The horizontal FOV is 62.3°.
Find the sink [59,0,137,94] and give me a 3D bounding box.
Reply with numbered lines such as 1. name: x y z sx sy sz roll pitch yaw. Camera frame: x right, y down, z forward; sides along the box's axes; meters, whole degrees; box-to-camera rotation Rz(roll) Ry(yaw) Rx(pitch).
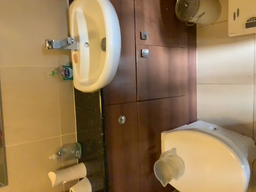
1. sink: -0.170 -0.270 1.090 0.430 0.180 0.490 5 99 52
